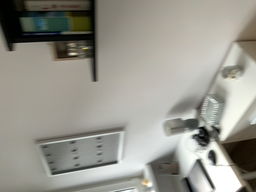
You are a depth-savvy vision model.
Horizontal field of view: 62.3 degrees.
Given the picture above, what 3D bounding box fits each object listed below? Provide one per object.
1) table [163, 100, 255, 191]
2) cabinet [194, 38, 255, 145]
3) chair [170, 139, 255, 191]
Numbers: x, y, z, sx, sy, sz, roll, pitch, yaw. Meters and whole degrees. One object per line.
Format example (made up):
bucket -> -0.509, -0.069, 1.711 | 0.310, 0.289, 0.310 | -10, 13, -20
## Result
table -> 0.860, 0.610, 1.880 | 0.990, 0.720, 0.590 | 99, 160, -46
cabinet -> 0.920, -0.030, 1.390 | 0.600, 0.700, 0.330 | 99, 160, -46
chair -> 0.870, 0.770, 1.740 | 0.440, 0.780, 0.600 | 99, 160, -47
